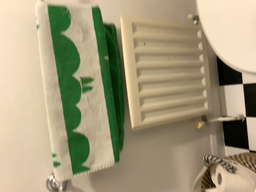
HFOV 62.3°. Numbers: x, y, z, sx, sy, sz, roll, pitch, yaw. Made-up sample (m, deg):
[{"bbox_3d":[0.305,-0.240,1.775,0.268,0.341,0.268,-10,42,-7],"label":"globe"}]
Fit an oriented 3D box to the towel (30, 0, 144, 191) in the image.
[{"bbox_3d":[-0.110,-0.010,0.660,0.070,0.280,0.550,-2,95,56],"label":"towel"}]
